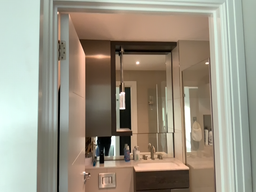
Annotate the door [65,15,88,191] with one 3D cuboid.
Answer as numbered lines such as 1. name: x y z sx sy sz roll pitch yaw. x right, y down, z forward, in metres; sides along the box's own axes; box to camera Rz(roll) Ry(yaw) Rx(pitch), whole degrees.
1. door: -0.340 0.610 1.490 0.050 2.020 0.870 0 -4 -7
